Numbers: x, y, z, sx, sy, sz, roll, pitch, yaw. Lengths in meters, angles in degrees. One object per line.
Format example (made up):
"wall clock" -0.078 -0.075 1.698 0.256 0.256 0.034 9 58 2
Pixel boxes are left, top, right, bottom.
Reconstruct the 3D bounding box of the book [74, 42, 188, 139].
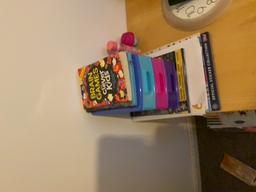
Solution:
"book" 0.010 0.000 0.670 0.240 0.250 0.230 -9 83 43
